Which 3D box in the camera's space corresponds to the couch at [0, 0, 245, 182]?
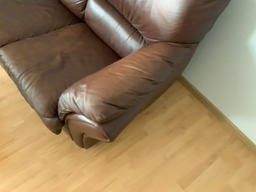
[{"bbox_3d":[-0.560,-0.710,1.370,0.970,0.960,2.090,-35,68,-23],"label":"couch"}]
